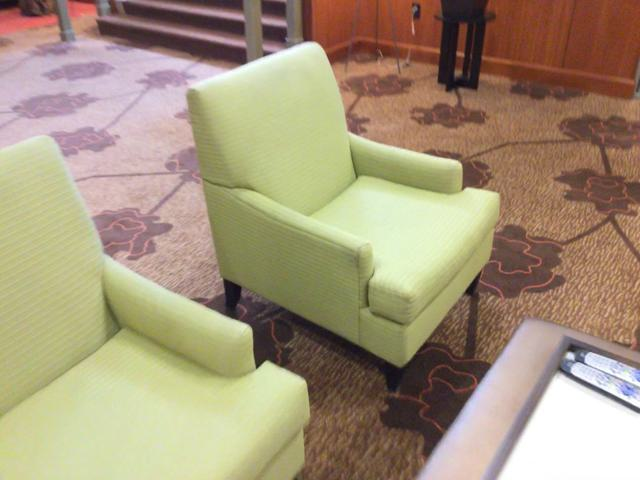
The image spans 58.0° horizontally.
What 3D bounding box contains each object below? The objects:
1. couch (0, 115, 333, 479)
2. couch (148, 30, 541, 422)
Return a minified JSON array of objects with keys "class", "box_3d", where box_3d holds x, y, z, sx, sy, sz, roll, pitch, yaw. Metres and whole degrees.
[{"class":"couch","box_3d":[-0.580,0.350,1.330,0.950,0.900,0.760,20,39,30]},{"class":"couch","box_3d":[0.090,-0.140,2.070,0.950,0.910,0.800,22,40,32]}]
